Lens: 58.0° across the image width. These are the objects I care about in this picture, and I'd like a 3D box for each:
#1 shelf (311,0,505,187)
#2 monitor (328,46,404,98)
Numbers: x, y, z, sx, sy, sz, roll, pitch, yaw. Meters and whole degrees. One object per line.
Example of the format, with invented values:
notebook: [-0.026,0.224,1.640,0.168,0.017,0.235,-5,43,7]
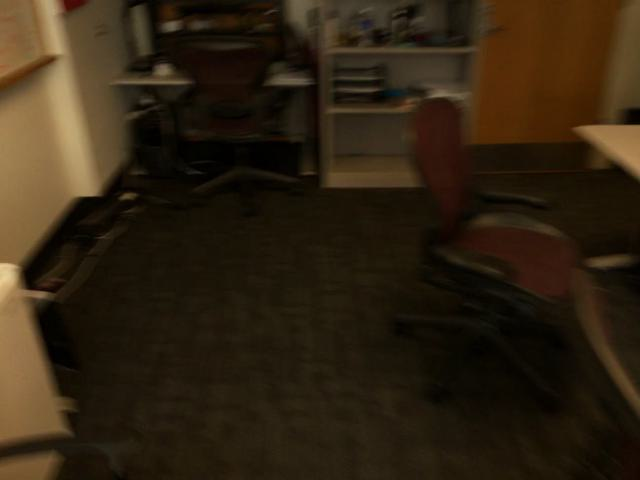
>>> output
shelf: [0.460,-1.320,3.240,1.010,1.990,0.450,-2,29,-1]
monitor: [0.260,-1.000,3.430,0.410,0.210,0.350,-2,29,-1]
